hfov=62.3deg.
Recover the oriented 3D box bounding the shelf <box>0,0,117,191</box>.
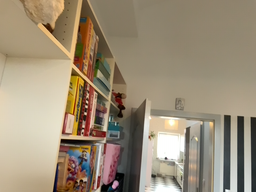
[{"bbox_3d":[-0.340,0.230,1.180,0.310,1.310,0.810,4,-11,6],"label":"shelf"}]
